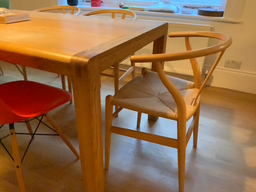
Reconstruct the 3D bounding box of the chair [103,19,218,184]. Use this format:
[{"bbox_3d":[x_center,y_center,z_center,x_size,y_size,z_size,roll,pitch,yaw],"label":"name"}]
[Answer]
[{"bbox_3d":[0.170,0.000,1.210,0.440,0.750,0.420,15,30,24],"label":"chair"}]
